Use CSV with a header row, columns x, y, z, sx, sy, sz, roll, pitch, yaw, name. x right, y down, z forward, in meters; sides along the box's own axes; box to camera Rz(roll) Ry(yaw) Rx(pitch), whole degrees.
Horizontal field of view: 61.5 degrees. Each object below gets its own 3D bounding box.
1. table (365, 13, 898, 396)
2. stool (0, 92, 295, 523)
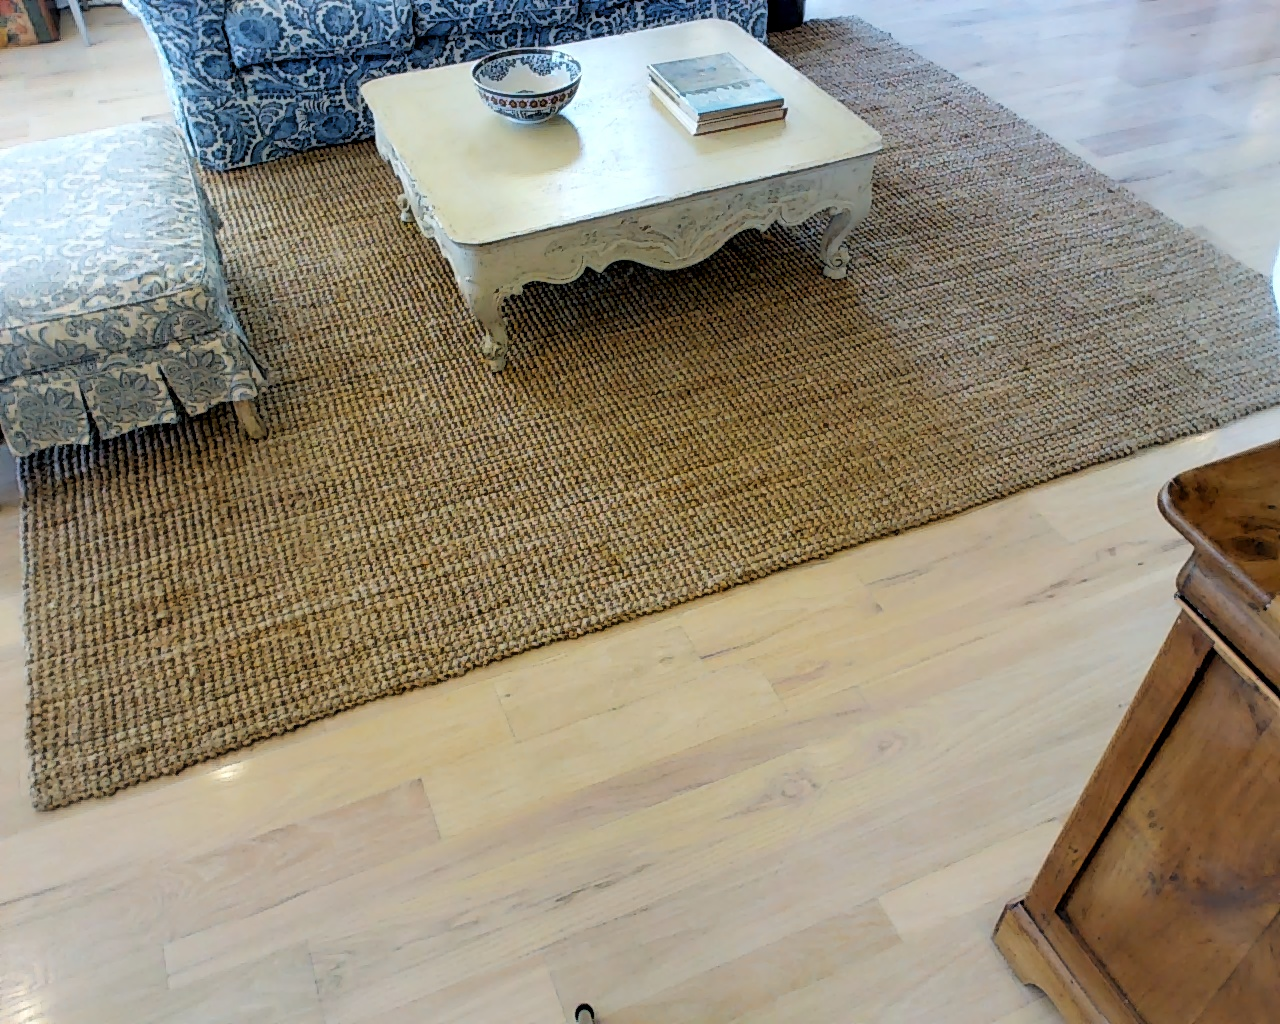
x,y,z,sx,sy,sz,roll,pitch,yaw,name
-0.060,-0.890,2.920,1.090,0.420,0.950,-17,47,-16,table
-1.300,-0.500,2.470,0.740,0.450,0.910,-17,47,-16,stool
